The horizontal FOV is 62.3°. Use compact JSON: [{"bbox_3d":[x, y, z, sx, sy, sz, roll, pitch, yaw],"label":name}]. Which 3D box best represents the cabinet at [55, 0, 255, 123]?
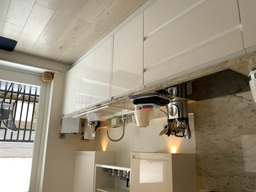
[{"bbox_3d":[0.070,-0.320,2.290,0.590,0.910,3.210,11,163,-35],"label":"cabinet"}]
